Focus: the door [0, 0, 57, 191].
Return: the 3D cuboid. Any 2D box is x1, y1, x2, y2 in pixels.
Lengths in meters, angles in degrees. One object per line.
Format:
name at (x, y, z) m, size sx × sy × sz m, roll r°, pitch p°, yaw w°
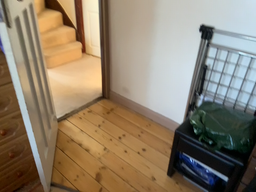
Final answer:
door at (-0.640, -0.360, 1.350) m, size 0.050 × 1.990 × 0.860 m, roll -6°, pitch 34°, yaw -13°
